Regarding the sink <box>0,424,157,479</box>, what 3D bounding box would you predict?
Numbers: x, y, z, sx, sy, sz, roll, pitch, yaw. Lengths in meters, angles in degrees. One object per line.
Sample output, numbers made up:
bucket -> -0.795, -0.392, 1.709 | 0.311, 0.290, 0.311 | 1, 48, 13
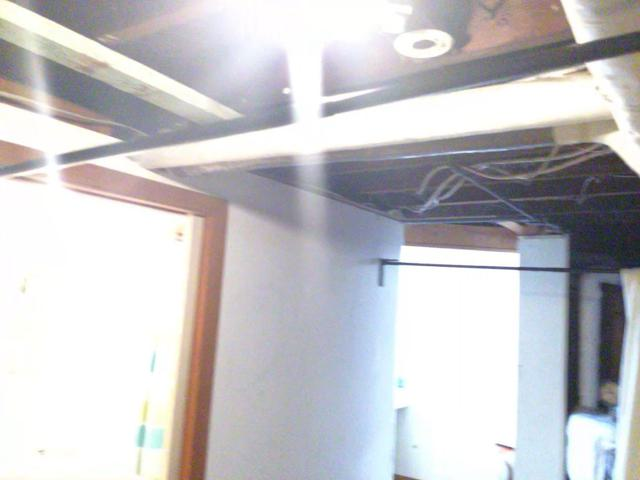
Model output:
sink -> -1.130, 1.030, 2.530 | 0.510, 0.280, 0.590 | -2, -8, 34

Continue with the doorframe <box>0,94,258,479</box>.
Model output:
doorframe -> -0.640, 0.750, 1.620 | 0.230, 2.070, 0.980 | -2, -8, 34
